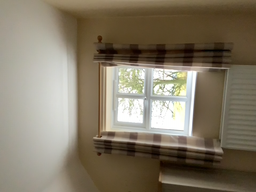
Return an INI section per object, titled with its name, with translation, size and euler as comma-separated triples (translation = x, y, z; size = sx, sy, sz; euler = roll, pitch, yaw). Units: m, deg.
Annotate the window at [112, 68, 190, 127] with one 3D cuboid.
[window]
translation = 0.260, 0.010, 2.630
size = 0.020, 0.930, 0.680
euler = -41, -47, -75
